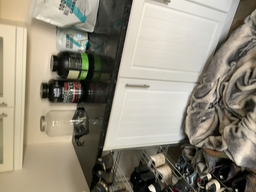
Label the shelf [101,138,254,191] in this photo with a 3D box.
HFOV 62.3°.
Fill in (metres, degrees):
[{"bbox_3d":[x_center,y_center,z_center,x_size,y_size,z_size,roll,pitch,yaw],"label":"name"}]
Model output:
[{"bbox_3d":[0.360,0.680,1.420,0.860,0.790,0.300,42,124,53],"label":"shelf"}]
